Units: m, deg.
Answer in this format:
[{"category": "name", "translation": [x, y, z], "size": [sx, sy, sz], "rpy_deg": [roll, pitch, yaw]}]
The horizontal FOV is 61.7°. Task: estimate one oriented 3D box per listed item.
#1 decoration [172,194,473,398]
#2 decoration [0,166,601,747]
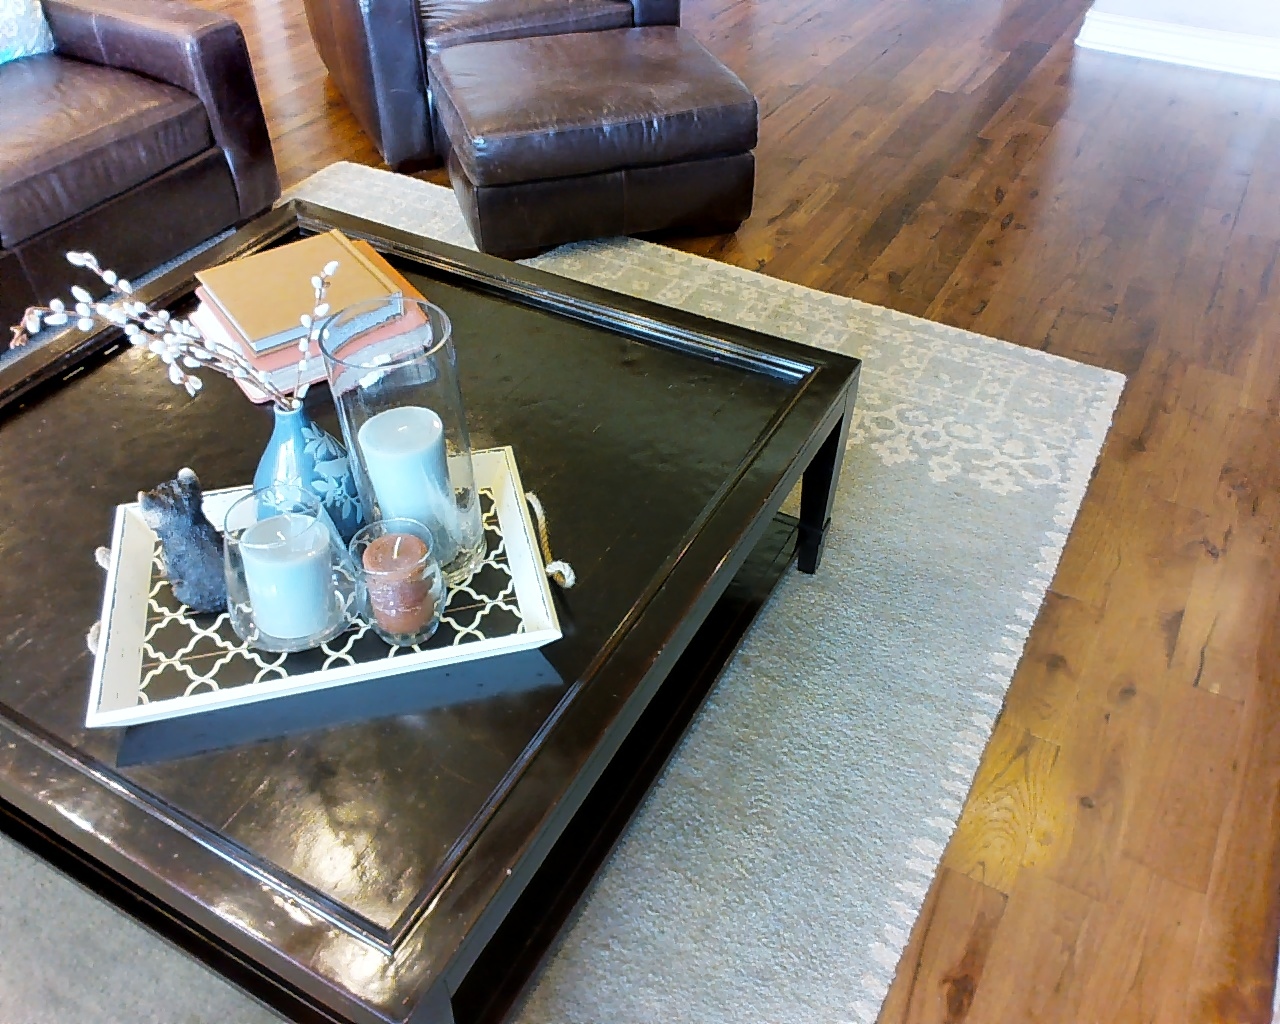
[{"category": "decoration", "translation": [-0.550, -0.390, 1.860], "size": [0.390, 0.100, 0.350], "rpy_deg": [-24, 48, -24]}, {"category": "decoration", "translation": [-0.390, -0.080, 1.270], "size": [0.600, 0.440, 0.410], "rpy_deg": [-10, 43, -11]}]
